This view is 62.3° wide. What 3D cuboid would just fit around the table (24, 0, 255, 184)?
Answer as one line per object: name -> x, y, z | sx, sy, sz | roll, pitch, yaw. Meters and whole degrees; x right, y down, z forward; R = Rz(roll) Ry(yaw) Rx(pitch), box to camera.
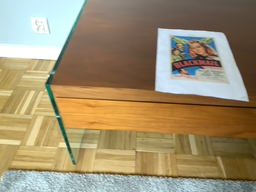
table -> 0.390, -0.070, 0.830 | 1.220, 0.390, 0.660 | 3, 46, 1
